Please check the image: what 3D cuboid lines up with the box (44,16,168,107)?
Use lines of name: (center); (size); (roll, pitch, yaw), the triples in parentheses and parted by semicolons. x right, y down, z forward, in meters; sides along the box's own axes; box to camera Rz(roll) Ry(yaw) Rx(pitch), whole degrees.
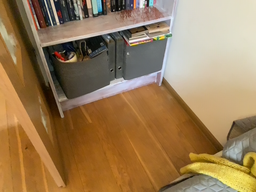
box: (-0.140, -0.260, 1.490); (0.730, 0.370, 0.300); (-17, 50, -18)
